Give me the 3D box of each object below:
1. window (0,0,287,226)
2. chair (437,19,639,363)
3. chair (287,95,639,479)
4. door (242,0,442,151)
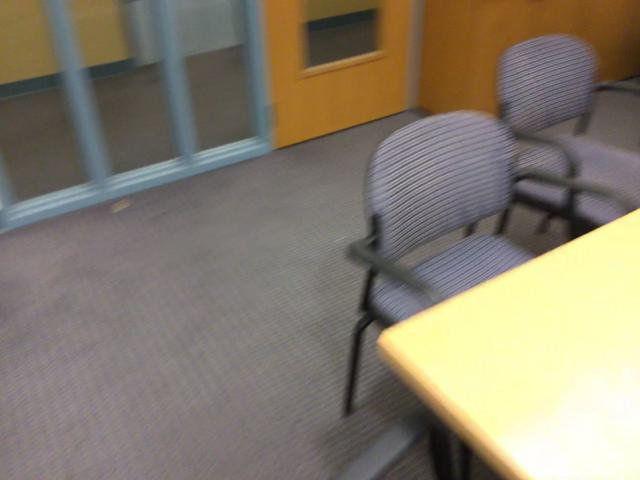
[{"bbox_3d":[-0.770,-0.640,2.650,1.140,0.770,0.330,-21,40,-20],"label":"window"},{"bbox_3d":[0.820,-0.180,1.850,0.590,0.780,0.590,-21,40,-20],"label":"chair"},{"bbox_3d":[0.340,0.170,1.350,0.550,0.720,0.620,-21,40,-20],"label":"chair"},{"bbox_3d":[0.130,-1.330,2.780,1.050,1.630,0.170,-21,40,-20],"label":"door"}]
